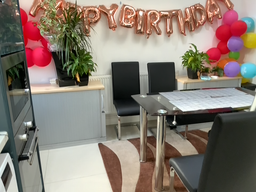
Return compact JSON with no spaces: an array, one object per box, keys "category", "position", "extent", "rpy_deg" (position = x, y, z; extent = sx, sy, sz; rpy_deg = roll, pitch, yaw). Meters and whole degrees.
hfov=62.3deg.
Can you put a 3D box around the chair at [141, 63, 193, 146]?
[{"category":"chair","position":[0.480,0.070,2.870],"extent":[0.440,0.950,0.600],"rpy_deg":[-5,17,-15]}]

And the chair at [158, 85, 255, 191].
[{"category":"chair","position":[0.540,0.480,1.370],"extent":[0.480,0.970,0.590],"rpy_deg":[-5,17,-14]}]

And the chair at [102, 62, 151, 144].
[{"category":"chair","position":[-0.040,0.050,2.950],"extent":[0.500,0.960,0.620],"rpy_deg":[-5,17,-15]}]
